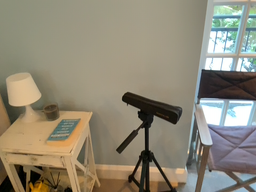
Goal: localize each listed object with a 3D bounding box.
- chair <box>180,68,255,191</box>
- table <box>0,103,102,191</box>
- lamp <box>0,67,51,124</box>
[{"bbox_3d":[0.750,0.320,1.510,0.600,0.890,0.560,0,29,5],"label":"chair"},{"bbox_3d":[-0.510,0.460,1.470,0.520,0.690,0.430,0,29,5],"label":"table"},{"bbox_3d":[-0.640,-0.010,1.310,0.180,0.280,0.210,2,29,7],"label":"lamp"}]
